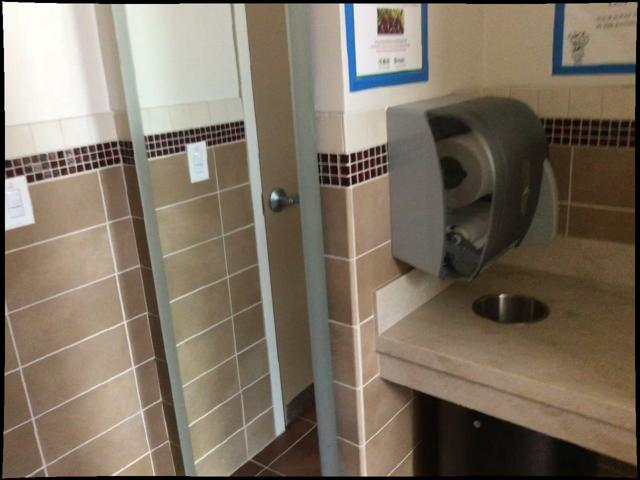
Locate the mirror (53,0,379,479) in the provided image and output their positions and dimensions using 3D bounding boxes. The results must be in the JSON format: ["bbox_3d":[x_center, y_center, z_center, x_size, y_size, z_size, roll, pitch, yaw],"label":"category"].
[{"bbox_3d":[-0.239,0.201,1.490,0.799,1.664,0.110,9,24,39],"label":"mirror"}]

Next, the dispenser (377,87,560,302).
[{"bbox_3d":[0.339,-0.120,1.280,0.270,0.381,0.310,9,24,39],"label":"dispenser"}]
